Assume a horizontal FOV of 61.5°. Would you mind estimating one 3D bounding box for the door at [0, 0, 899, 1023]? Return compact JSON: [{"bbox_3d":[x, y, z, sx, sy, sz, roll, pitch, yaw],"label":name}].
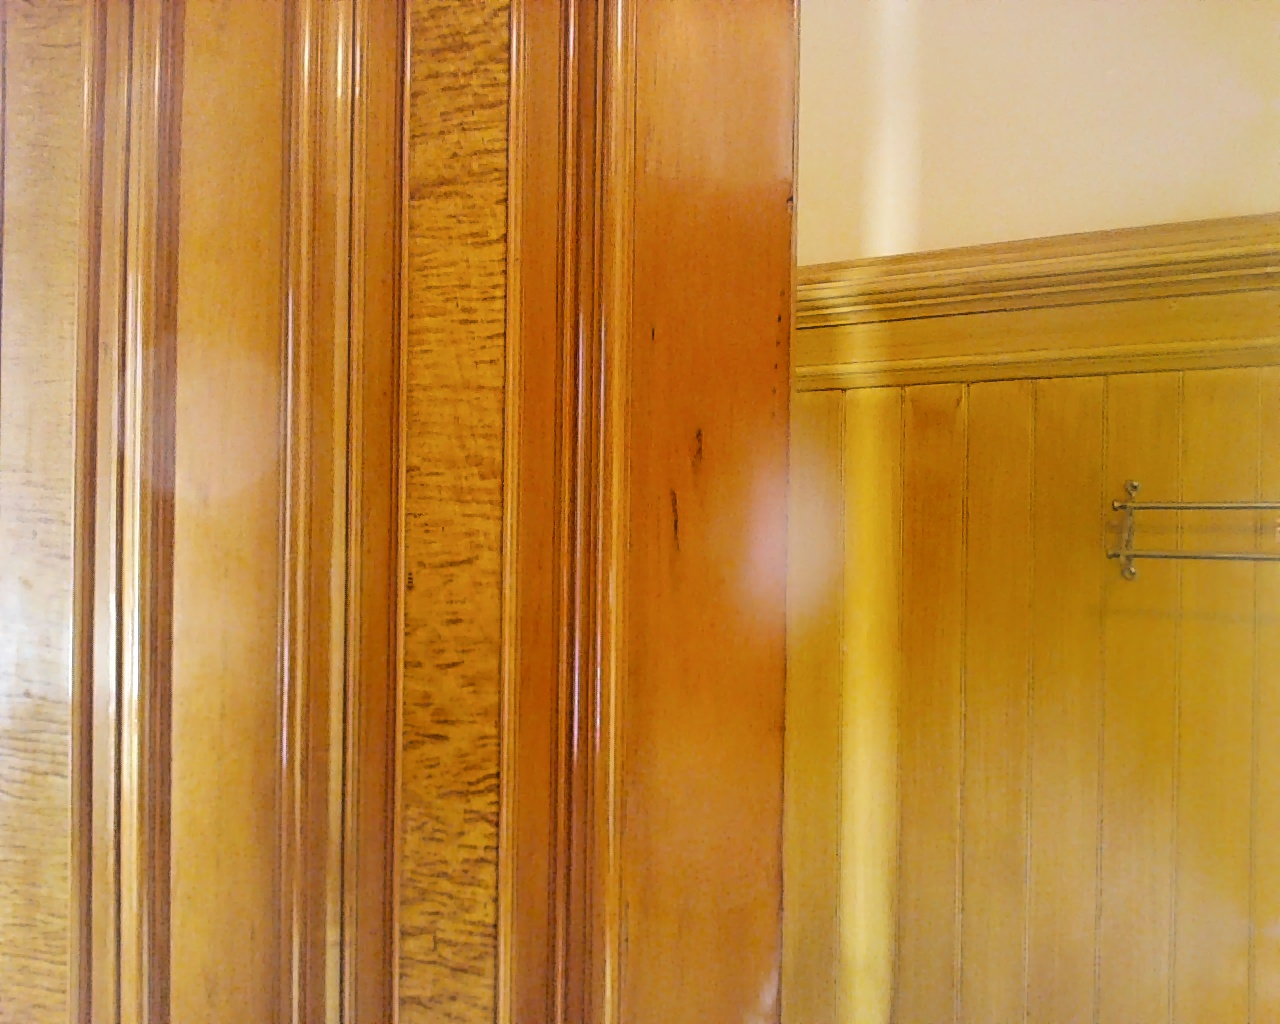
[{"bbox_3d":[-0.300,0.380,0.870,0.960,2.270,0.070,1,0,14],"label":"door"}]
